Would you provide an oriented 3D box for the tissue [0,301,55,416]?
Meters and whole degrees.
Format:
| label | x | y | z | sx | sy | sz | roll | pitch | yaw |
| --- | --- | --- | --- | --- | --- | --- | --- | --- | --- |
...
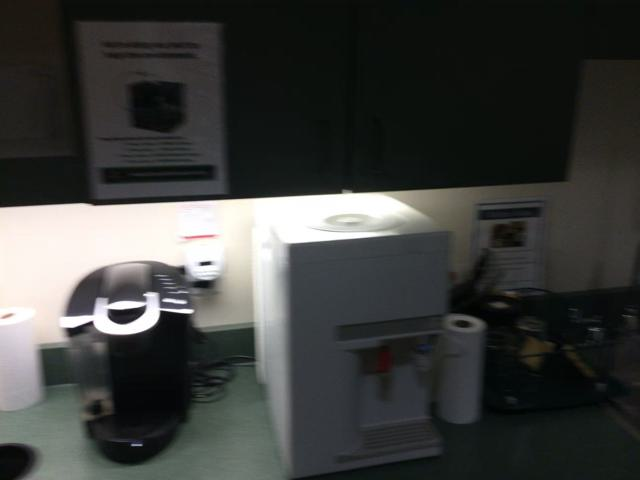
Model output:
| label | x | y | z | sx | sy | sz | roll | pitch | yaw |
| --- | --- | --- | --- | --- | --- | --- | --- | --- | --- |
| tissue | -0.710 | 0.260 | 1.260 | 0.200 | 0.210 | 0.120 | -2 | 16 | -11 |

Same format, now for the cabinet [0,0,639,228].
| label | x | y | z | sx | sy | sz | roll | pitch | yaw |
| --- | --- | --- | --- | --- | --- | --- | --- | --- | --- |
| cabinet | 0.000 | -0.420 | 1.090 | 2.640 | 0.680 | 0.400 | -2 | 16 | -11 |

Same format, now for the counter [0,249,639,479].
| label | x | y | z | sx | sy | sz | roll | pitch | yaw |
| --- | --- | --- | --- | --- | --- | --- | --- | --- | --- |
| counter | 0.040 | 0.360 | 1.180 | 2.640 | 0.430 | 0.680 | -2 | 16 | -11 |

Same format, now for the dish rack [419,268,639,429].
| label | x | y | z | sx | sy | sz | roll | pitch | yaw |
| --- | --- | --- | --- | --- | --- | --- | --- | --- | --- |
| dish rack | 0.540 | 0.230 | 1.380 | 0.480 | 0.190 | 0.390 | -2 | 16 | -11 |
